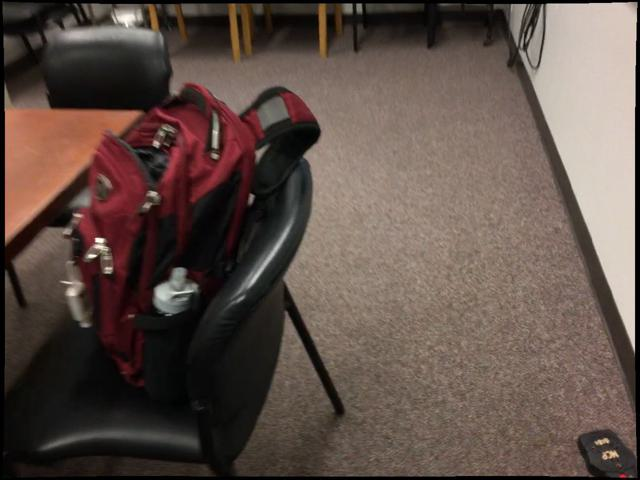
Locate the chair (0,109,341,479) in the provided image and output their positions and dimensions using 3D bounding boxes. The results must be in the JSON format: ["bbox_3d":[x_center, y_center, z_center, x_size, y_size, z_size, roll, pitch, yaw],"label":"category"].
[{"bbox_3d":[-0.259,0.241,1.150,0.539,0.831,0.470,5,37,8],"label":"chair"}]
